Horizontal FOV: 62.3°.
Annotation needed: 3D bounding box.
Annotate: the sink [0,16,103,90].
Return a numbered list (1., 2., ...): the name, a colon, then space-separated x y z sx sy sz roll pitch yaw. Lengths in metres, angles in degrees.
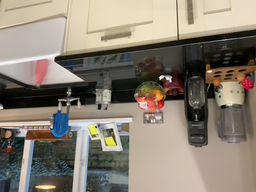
1. sink: -0.570 -0.250 1.490 0.610 0.230 0.540 -4 165 17
